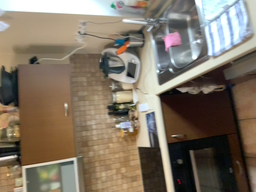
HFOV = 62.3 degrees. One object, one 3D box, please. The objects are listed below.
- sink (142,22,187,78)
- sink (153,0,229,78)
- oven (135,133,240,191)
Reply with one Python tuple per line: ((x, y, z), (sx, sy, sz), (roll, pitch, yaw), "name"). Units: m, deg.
((0.290, -0.370, 1.740), (0.220, 0.220, 0.380), (148, 116, -67), "sink")
((0.400, -0.420, 1.460), (0.400, 0.230, 0.480), (148, 116, -67), "sink")
((0.530, 0.720, 2.030), (0.610, 0.660, 0.620), (148, 116, -67), "oven")
